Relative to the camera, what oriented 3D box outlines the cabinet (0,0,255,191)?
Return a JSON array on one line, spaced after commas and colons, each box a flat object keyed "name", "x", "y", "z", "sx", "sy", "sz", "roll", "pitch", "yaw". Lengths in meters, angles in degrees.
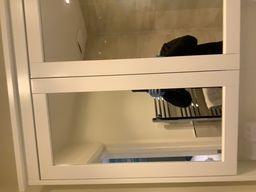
[{"name": "cabinet", "x": 0.060, "y": -0.060, "z": 0.790, "sx": 0.160, "sy": 0.990, "sz": 0.810, "roll": -82, "pitch": -10, "yaw": -83}]
